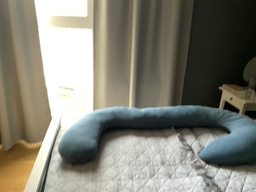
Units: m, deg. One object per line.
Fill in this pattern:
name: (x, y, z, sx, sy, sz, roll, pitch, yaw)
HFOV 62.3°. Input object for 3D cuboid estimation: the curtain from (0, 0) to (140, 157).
curtain: (-0.830, -0.650, 1.950, 1.860, 2.690, 0.190, -1, 21, -12)
